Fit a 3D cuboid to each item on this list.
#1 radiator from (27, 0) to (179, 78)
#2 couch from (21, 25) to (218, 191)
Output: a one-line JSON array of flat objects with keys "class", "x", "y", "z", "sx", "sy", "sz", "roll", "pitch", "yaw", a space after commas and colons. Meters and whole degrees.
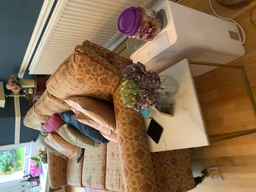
[{"class": "radiator", "x": -0.410, "y": -0.580, "z": 2.180, "sx": 1.970, "sy": 0.840, "sz": 0.100, "roll": -27, "pitch": 69, "yaw": 52}, {"class": "couch", "x": -0.400, "y": 0.380, "z": 2.100, "sx": 2.060, "sy": 0.860, "sz": 1.030, "roll": -26, "pitch": 70, "yaw": 53}]
